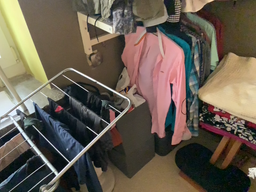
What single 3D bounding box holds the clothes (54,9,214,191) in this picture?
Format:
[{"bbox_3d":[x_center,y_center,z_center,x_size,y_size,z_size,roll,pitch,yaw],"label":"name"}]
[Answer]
[{"bbox_3d":[0.070,0.050,1.460,0.630,1.020,0.610,27,48,37],"label":"clothes"}]
